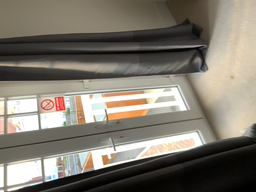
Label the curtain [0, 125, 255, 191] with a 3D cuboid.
[{"bbox_3d":[-0.140,0.510,1.110,0.260,2.420,0.310,119,139,-53],"label":"curtain"}]

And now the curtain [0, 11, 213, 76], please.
[{"bbox_3d":[-0.450,-0.400,1.630,0.200,2.520,0.400,123,136,-56],"label":"curtain"}]
